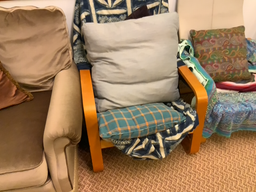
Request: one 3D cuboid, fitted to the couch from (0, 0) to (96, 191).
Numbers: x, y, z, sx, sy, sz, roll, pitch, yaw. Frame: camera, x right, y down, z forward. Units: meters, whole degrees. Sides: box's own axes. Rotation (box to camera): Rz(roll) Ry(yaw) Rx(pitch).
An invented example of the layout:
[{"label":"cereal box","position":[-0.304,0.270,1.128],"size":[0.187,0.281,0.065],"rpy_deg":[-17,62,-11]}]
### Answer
[{"label":"couch","position":[-0.690,0.010,1.200],"size":[0.880,0.830,0.720],"rpy_deg":[-7,42,-10]}]
